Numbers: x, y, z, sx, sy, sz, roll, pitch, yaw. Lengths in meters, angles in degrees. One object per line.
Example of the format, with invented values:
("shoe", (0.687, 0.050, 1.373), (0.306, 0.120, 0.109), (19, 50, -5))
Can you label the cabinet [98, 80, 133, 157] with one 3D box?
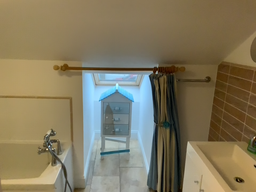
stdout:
("cabinet", (-0.170, 0.300, 2.940), (0.430, 0.980, 0.420), (1, 15, -2))
